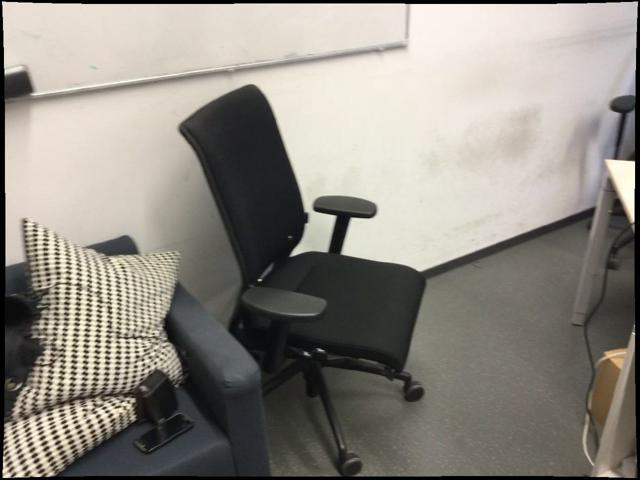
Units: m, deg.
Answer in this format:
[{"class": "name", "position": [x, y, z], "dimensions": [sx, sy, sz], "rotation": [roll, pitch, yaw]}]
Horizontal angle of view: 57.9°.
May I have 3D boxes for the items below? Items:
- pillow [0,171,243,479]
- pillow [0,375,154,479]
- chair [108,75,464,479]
[{"class": "pillow", "position": [-0.569, 0.180, 1.550], "dimensions": [0.510, 0.490, 0.520], "rotation": [-17, 33, -25]}, {"class": "pillow", "position": [-0.609, 0.470, 1.350], "dimensions": [0.390, 0.120, 0.130], "rotation": [-17, 33, -25]}, {"class": "chair", "position": [-0.030, 0.080, 1.820], "dimensions": [0.819, 1.011, 0.610], "rotation": [6, 30, 14]}]
